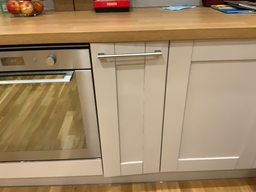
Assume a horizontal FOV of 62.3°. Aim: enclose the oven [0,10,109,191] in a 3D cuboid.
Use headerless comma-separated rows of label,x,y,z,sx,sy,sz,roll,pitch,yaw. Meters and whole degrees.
oven,-0.450,0.040,1.230,0.610,0.920,0.580,-2,30,-2
